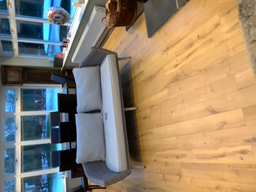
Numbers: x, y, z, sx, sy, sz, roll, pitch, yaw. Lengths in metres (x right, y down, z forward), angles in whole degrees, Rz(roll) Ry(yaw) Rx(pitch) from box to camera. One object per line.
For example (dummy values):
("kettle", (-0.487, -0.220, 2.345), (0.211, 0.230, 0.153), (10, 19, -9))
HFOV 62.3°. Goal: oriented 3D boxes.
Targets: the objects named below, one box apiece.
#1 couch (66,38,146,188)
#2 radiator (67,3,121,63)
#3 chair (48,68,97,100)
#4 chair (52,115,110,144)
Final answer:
("couch", (-0.410, 0.240, 3.170), (0.890, 0.760, 1.880), (-29, 65, 61))
("radiator", (-0.780, -1.120, 4.240), (2.090, 0.470, 0.140), (-27, 67, 61))
("chair", (-1.220, -0.250, 4.640), (0.380, 0.950, 0.560), (-33, 62, 59))
("chair", (-0.900, 0.630, 4.000), (0.560, 0.950, 0.410), (-29, 64, 61))
